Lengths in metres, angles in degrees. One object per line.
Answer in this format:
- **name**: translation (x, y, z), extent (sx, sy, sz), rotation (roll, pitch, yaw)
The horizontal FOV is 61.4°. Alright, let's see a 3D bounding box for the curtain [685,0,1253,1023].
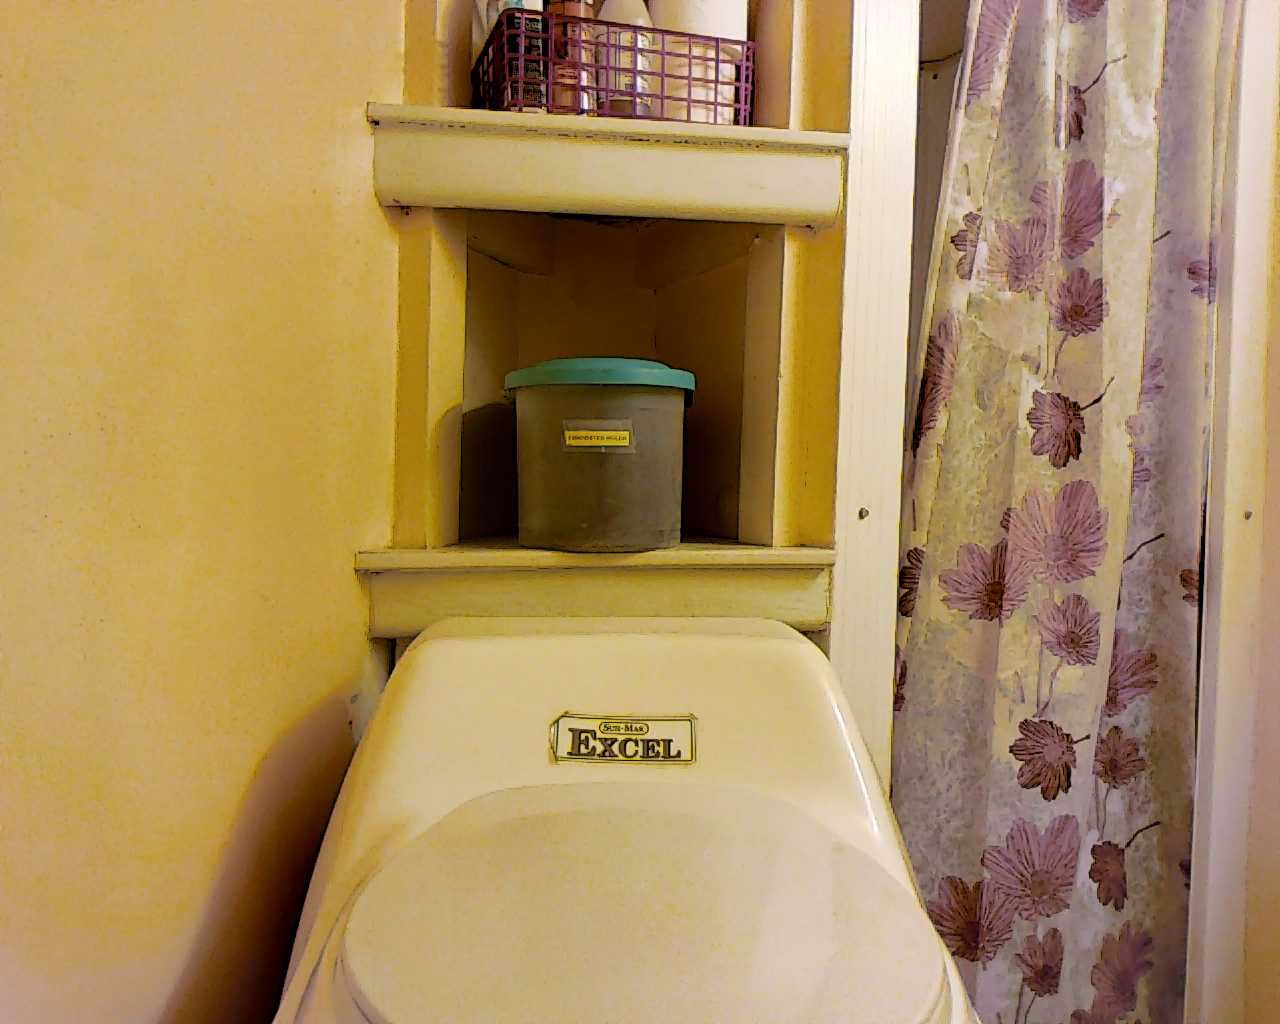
- **curtain**: translation (0.490, 0.000, 1.720), extent (0.620, 1.830, 0.560), rotation (0, 2, -26)

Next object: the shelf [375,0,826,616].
- **shelf**: translation (-0.060, -0.410, 1.460), extent (0.500, 1.040, 0.500), rotation (1, 2, -5)

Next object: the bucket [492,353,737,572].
- **bucket**: translation (-0.040, -0.060, 1.400), extent (0.270, 0.240, 0.400), rotation (1, 2, -3)
